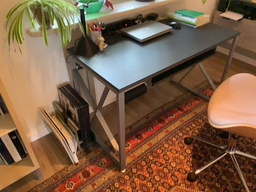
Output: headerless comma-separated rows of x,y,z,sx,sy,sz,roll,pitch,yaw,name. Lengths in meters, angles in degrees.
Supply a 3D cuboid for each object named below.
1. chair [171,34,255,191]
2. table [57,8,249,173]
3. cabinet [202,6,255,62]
0.730,0.160,1.390,0.620,0.840,0.620,17,41,20,chair
0.240,-0.170,1.860,1.350,0.760,0.720,-26,46,-30,table
1.390,-0.710,2.460,0.340,0.380,0.910,-26,45,-29,cabinet
